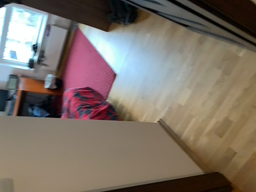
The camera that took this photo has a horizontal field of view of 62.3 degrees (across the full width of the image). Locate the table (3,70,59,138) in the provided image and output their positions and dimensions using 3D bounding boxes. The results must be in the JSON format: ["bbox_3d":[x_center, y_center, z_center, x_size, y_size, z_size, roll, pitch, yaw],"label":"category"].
[{"bbox_3d":[-2.070,0.200,4.440,0.690,0.770,1.170,48,121,46],"label":"table"}]
